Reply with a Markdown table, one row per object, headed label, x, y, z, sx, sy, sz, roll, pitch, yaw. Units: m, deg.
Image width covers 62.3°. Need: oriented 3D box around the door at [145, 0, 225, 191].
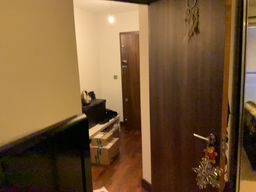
| label | x | y | z | sx | sy | sz | roll | pitch | yaw |
| --- | --- | --- | --- | --- | --- | --- | --- | --- | --- |
| door | 0.370 | 0.220 | 1.710 | 0.050 | 1.930 | 0.940 | -6 | 11 | -19 |
